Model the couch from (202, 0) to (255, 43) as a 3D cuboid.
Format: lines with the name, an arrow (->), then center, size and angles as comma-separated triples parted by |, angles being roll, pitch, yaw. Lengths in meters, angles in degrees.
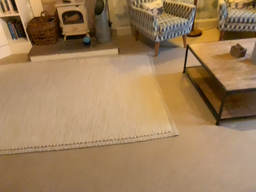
couch -> 1.660, -1.420, 3.390 | 0.720, 0.840, 0.830 | 5, 37, 12

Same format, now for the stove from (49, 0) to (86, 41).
stove -> -0.940, -1.240, 3.400 | 0.440, 0.560, 0.390 | -7, 37, -5

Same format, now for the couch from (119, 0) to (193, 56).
couch -> 0.390, -1.240, 3.270 | 0.730, 0.820, 0.860 | -20, 40, -21
